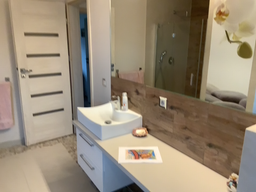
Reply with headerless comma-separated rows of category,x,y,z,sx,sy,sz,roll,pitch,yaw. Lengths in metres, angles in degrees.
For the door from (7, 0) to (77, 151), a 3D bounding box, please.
door,-1.210,-0.260,3.140,0.780,2.060,0.190,-9,18,-35
